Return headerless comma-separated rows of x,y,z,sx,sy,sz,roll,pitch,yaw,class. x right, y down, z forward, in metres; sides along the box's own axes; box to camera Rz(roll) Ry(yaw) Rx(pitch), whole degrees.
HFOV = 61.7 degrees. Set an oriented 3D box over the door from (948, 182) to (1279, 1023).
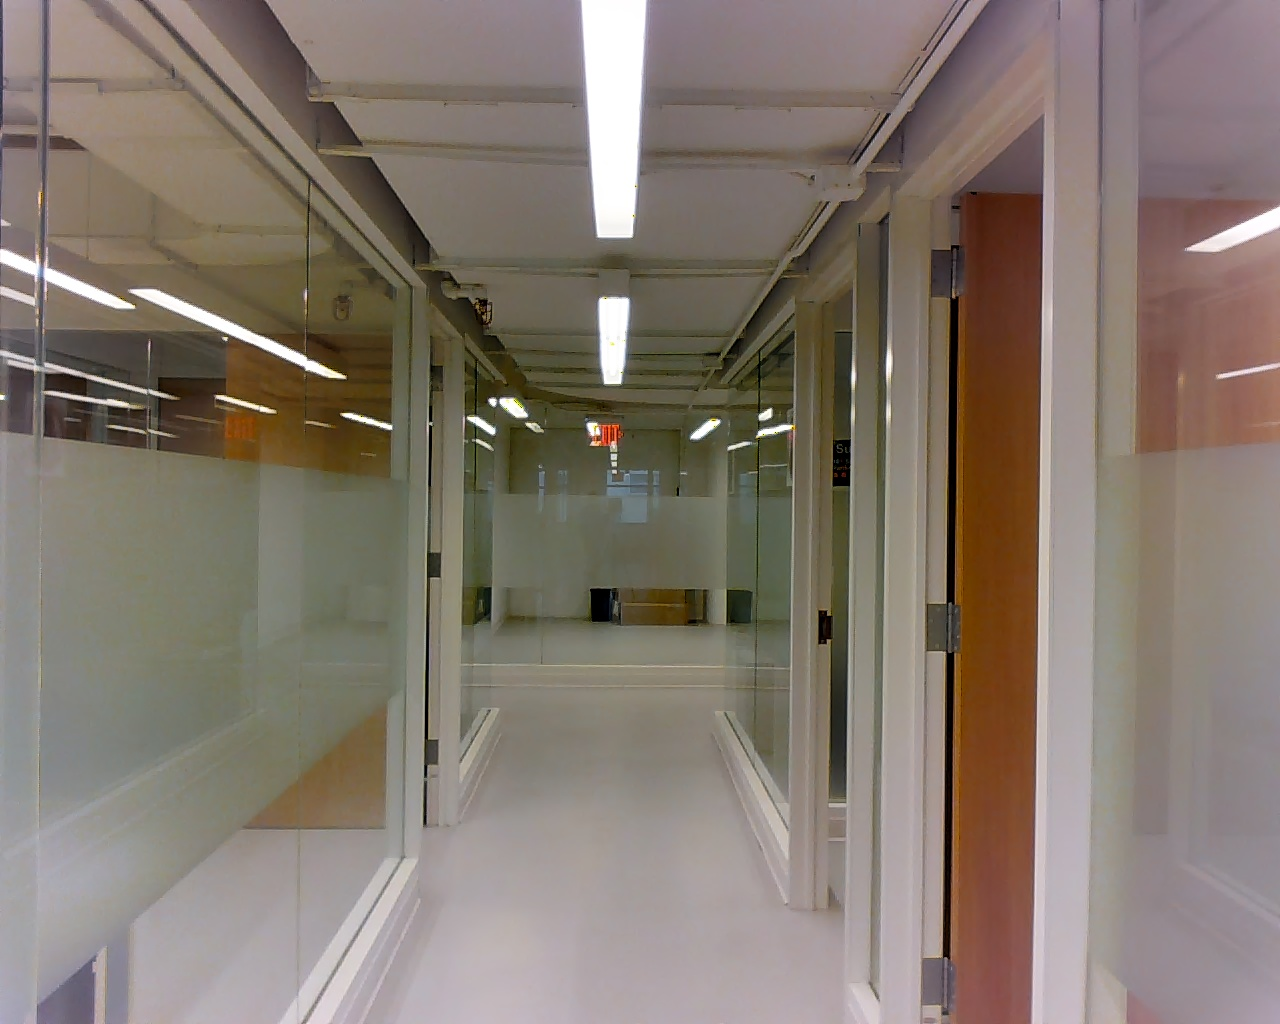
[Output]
1.230,0.360,2.560,0.940,2.250,0.070,1,0,-2,door
